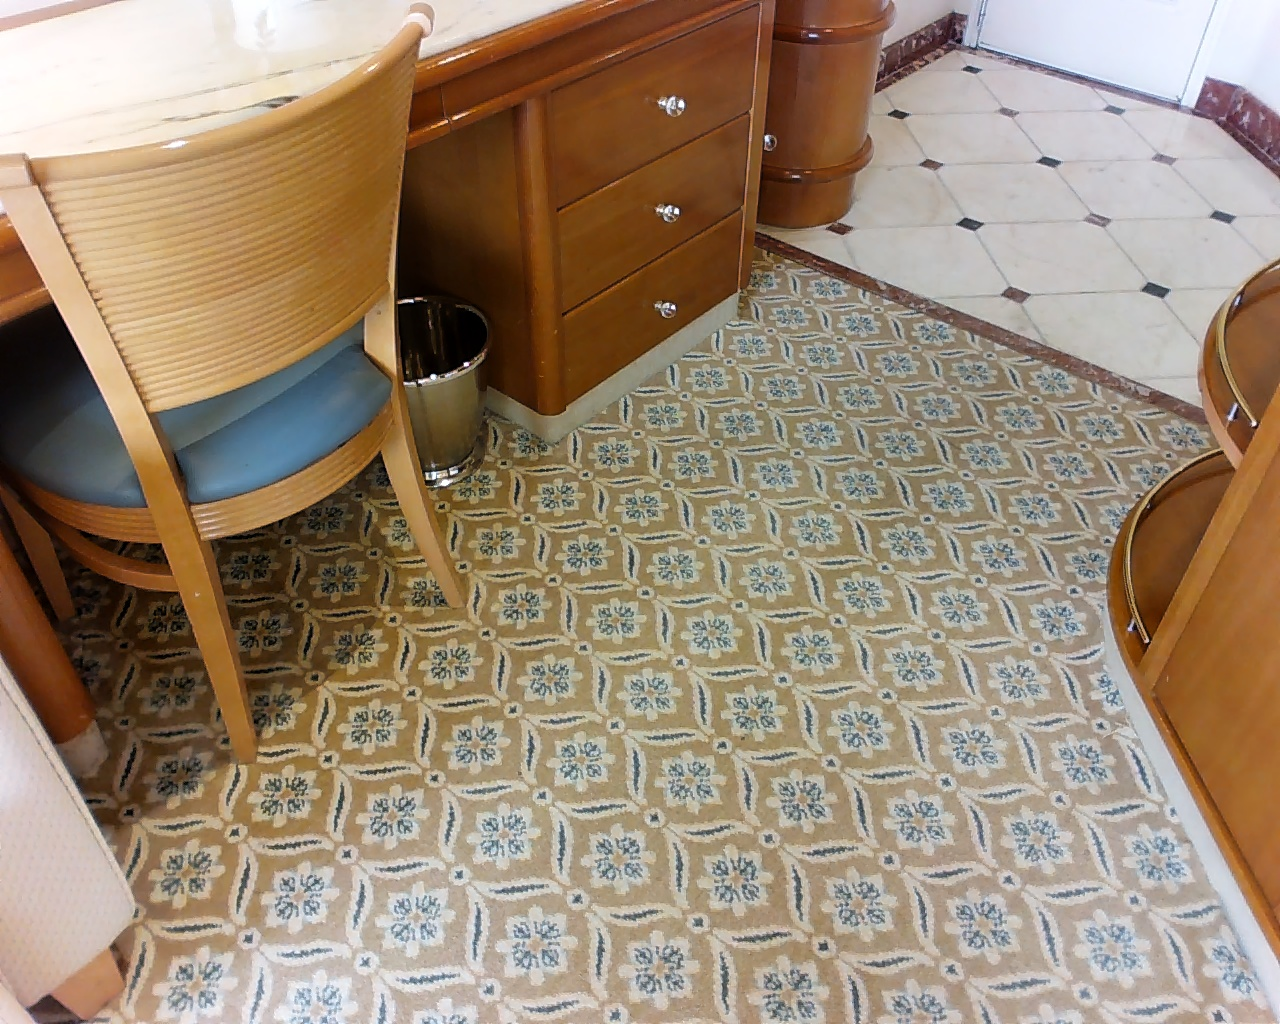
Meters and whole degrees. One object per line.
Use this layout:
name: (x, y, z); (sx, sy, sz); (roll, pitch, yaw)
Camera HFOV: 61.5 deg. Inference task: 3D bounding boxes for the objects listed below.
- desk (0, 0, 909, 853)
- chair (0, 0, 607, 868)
desk: (-0.300, -0.450, 1.730); (0.510, 0.760, 1.880); (30, 50, 28)
chair: (-0.500, -0.190, 1.350); (0.660, 0.870, 0.620); (30, 50, 28)
